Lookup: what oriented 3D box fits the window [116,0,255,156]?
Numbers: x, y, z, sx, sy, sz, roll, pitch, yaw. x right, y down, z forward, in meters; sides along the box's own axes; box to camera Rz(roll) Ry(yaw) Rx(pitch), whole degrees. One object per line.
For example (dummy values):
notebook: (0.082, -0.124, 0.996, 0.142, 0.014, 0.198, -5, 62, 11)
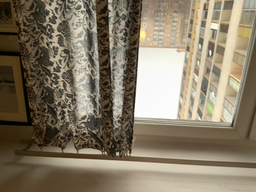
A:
window: (0.650, -0.480, 1.090, 1.390, 1.760, 0.160, 4, -158, 4)
